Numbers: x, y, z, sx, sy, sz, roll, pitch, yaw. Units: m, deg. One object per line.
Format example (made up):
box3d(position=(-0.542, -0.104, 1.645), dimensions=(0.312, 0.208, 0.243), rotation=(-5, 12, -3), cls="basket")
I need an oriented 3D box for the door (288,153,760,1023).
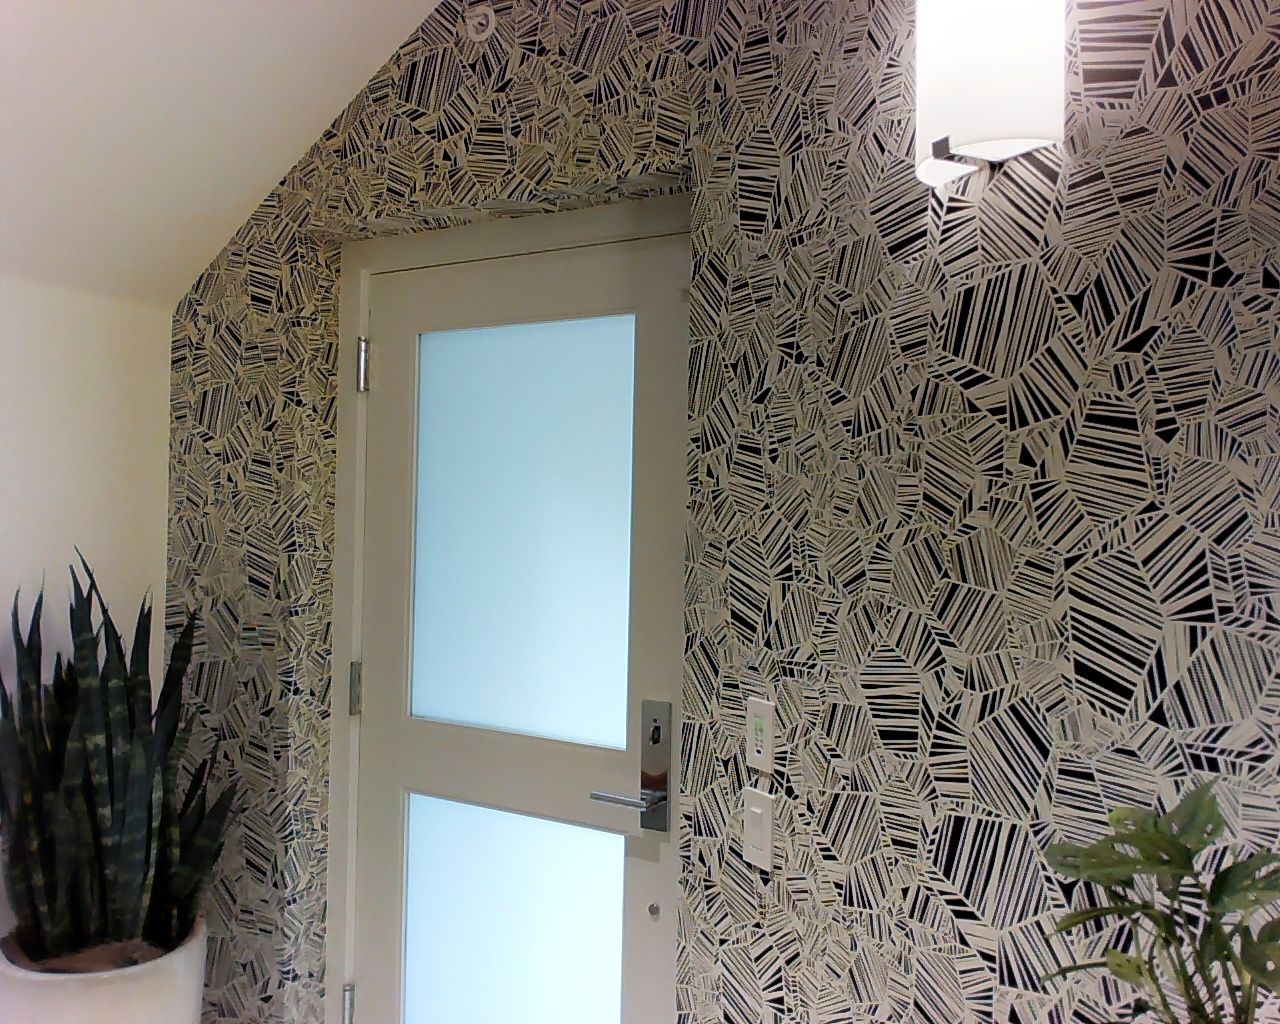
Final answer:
box3d(position=(-0.300, 0.430, 2.350), dimensions=(1.090, 2.210, 0.190), rotation=(1, 0, 30), cls="door")
